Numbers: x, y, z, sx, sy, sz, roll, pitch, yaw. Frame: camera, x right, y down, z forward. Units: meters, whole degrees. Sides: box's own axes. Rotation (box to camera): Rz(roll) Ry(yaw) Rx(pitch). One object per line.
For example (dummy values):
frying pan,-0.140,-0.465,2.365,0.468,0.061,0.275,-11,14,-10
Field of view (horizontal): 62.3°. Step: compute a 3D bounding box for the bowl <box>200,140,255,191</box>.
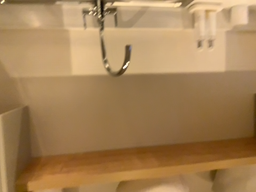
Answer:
bowl,0.570,0.410,1.080,0.310,0.290,0.230,-2,-175,-6
